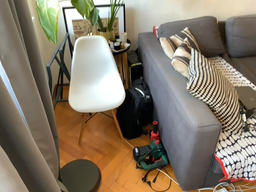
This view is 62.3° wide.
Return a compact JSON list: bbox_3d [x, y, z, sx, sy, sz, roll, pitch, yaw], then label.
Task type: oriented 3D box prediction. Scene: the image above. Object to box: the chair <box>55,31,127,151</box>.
[{"bbox_3d":[-0.300,-0.050,1.880,0.460,0.830,0.580,-7,36,-9],"label":"chair"}]
